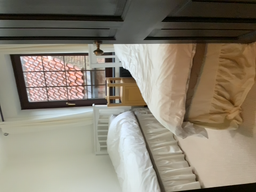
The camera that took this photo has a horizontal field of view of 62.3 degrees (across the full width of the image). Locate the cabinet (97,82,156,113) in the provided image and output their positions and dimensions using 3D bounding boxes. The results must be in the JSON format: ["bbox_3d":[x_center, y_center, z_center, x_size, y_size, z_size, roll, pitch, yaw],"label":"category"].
[{"bbox_3d":[-0.040,0.010,3.290,0.350,0.840,0.350,-115,24,-65],"label":"cabinet"}]

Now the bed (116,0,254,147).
[{"bbox_3d":[0.290,-0.460,2.280,1.870,0.590,1.010,-115,24,-65],"label":"bed"}]
